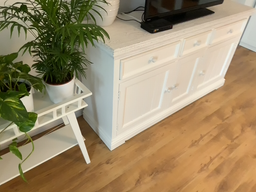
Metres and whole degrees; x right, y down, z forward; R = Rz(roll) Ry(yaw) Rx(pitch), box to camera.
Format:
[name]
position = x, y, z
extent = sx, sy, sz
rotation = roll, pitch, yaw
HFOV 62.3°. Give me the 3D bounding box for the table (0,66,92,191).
[table]
position = -0.640, 0.280, 1.360
extent = 0.690, 0.660, 0.390
rotation = -26, 49, -33
